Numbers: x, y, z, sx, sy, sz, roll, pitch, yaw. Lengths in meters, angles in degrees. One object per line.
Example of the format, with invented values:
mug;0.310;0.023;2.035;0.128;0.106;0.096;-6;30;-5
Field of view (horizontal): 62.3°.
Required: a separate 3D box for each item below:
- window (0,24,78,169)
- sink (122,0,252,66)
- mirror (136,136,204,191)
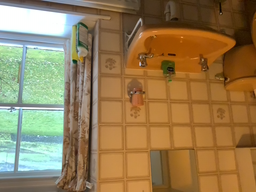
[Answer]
window;-0.830;-0.020;1.480;0.920;1.000;0.080;1;168;-15
sink;0.320;-0.360;1.290;0.620;0.180;0.420;2;168;-15
mirror;0.240;0.450;1.250;0.340;0.410;0.150;1;168;-11
